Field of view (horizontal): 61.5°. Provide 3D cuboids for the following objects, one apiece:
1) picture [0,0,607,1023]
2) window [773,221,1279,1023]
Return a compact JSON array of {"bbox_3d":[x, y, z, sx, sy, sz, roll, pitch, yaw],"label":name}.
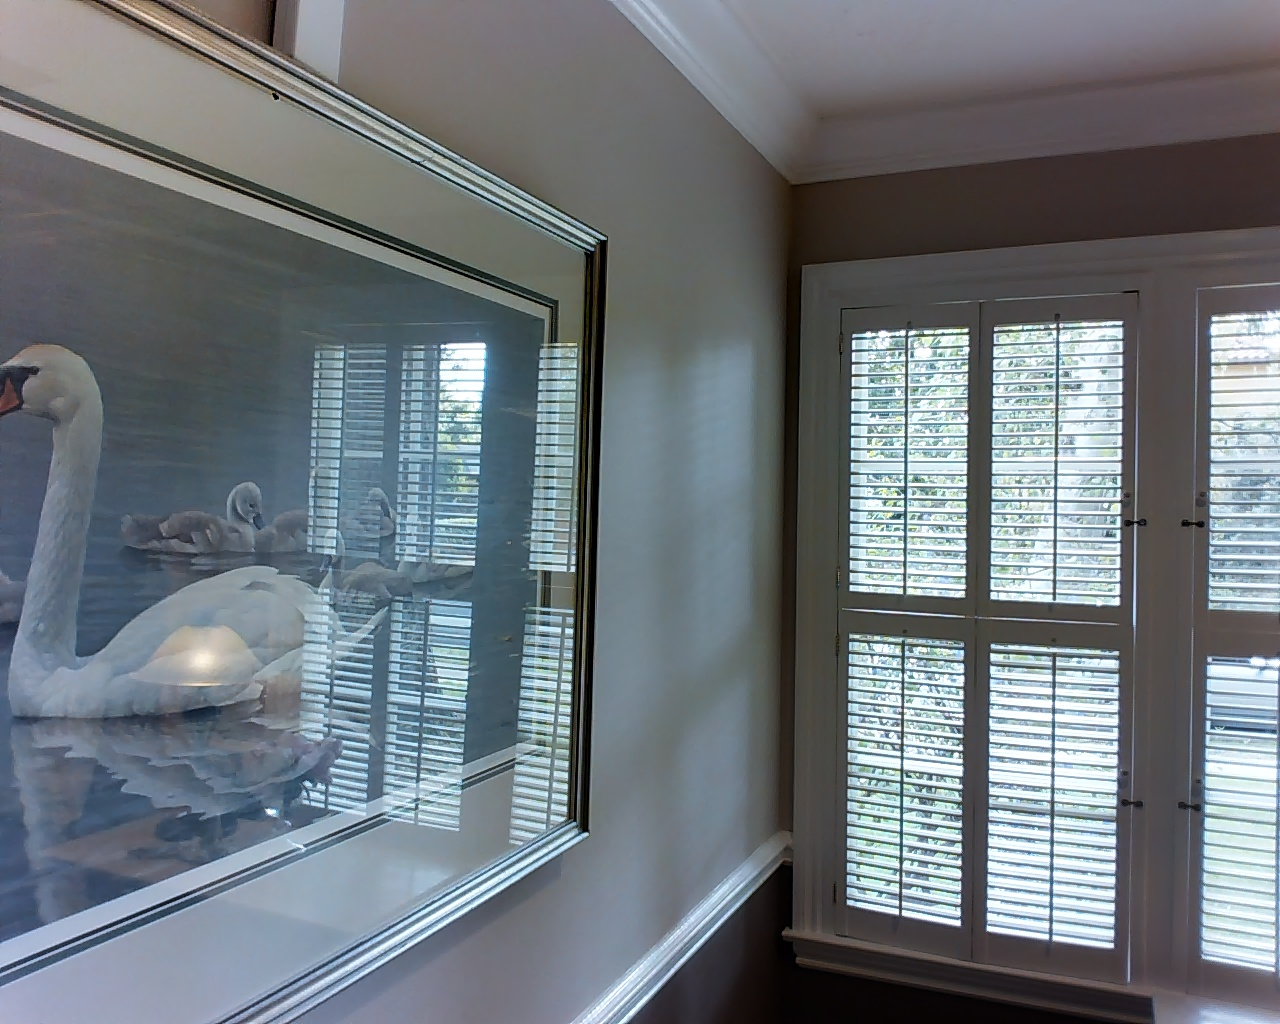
[{"bbox_3d":[-0.280,0.030,0.900,0.060,0.790,1.010,0,2,24],"label":"picture"},{"bbox_3d":[0.970,0.210,2.030,1.440,1.450,0.120,1,0,24],"label":"window"}]
